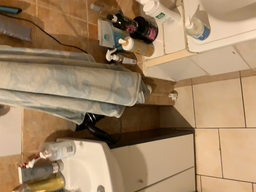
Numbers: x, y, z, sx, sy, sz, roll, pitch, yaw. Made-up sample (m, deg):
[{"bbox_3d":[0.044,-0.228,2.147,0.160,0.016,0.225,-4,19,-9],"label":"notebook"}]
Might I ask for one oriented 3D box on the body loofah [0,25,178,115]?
[{"bbox_3d":[-0.210,-0.050,0.840,0.230,1.170,0.230,-7,83,43],"label":"body loofah"}]
